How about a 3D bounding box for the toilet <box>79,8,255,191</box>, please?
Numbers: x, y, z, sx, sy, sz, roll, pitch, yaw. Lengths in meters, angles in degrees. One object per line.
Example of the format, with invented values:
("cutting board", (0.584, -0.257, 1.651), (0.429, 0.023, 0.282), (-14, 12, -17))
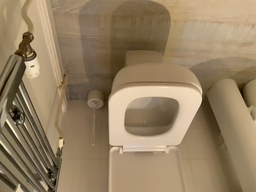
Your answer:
("toilet", (0.070, 0.140, 0.930), (0.430, 0.830, 0.620), (1, 142, -5))
